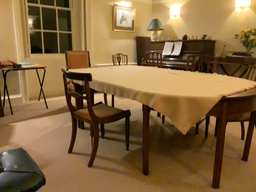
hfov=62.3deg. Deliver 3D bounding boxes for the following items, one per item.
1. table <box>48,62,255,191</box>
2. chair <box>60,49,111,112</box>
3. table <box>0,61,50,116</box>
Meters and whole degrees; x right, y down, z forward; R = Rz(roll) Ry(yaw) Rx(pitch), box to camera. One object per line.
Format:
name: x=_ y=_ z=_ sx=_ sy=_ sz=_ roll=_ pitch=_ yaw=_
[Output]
table: x=0.150 y=0.080 z=2.460 sx=1.250 sy=0.710 sz=2.300 roll=-10 pitch=18 yaw=-39
chair: x=-0.690 y=-0.290 z=3.490 sx=0.590 sy=0.910 sz=0.580 roll=-9 pitch=17 yaw=-39
table: x=-1.650 y=-0.160 z=3.320 sx=0.600 sy=0.710 sz=0.580 roll=-9 pitch=17 yaw=-39
